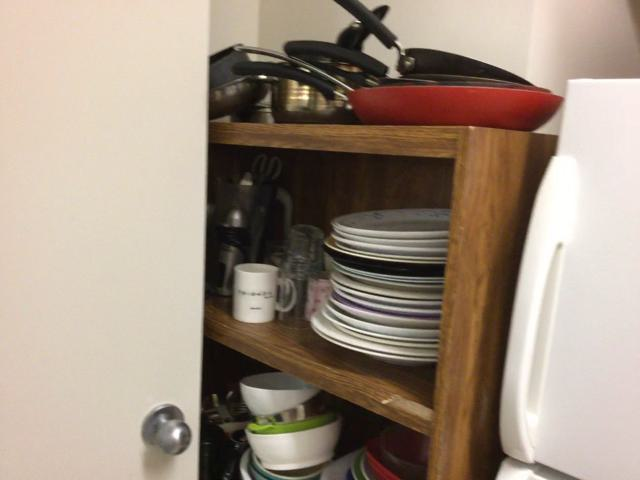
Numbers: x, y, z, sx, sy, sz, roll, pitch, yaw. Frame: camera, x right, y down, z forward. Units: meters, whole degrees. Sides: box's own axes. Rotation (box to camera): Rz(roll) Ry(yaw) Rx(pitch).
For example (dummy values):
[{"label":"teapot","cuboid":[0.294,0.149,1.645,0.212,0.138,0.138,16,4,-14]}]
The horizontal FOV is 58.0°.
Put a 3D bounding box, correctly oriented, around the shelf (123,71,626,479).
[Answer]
[{"label":"shelf","cuboid":[-0.010,0.510,1.090,0.350,1.520,0.800,-7,13,-44]}]
